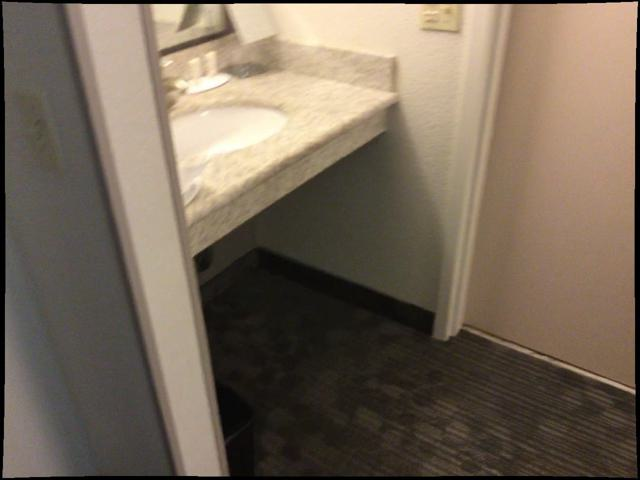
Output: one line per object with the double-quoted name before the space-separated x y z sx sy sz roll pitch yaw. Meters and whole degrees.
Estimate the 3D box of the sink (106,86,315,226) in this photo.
"sink" -0.280 -0.250 1.570 0.370 0.170 0.400 20 36 26
